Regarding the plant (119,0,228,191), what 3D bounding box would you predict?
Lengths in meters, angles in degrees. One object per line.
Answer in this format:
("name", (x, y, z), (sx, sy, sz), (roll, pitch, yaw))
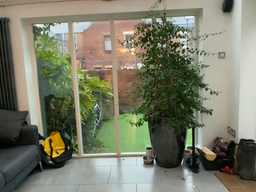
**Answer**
("plant", (0.460, -0.140, 2.500), (0.960, 2.200, 1.000), (-1, 8, 5))
